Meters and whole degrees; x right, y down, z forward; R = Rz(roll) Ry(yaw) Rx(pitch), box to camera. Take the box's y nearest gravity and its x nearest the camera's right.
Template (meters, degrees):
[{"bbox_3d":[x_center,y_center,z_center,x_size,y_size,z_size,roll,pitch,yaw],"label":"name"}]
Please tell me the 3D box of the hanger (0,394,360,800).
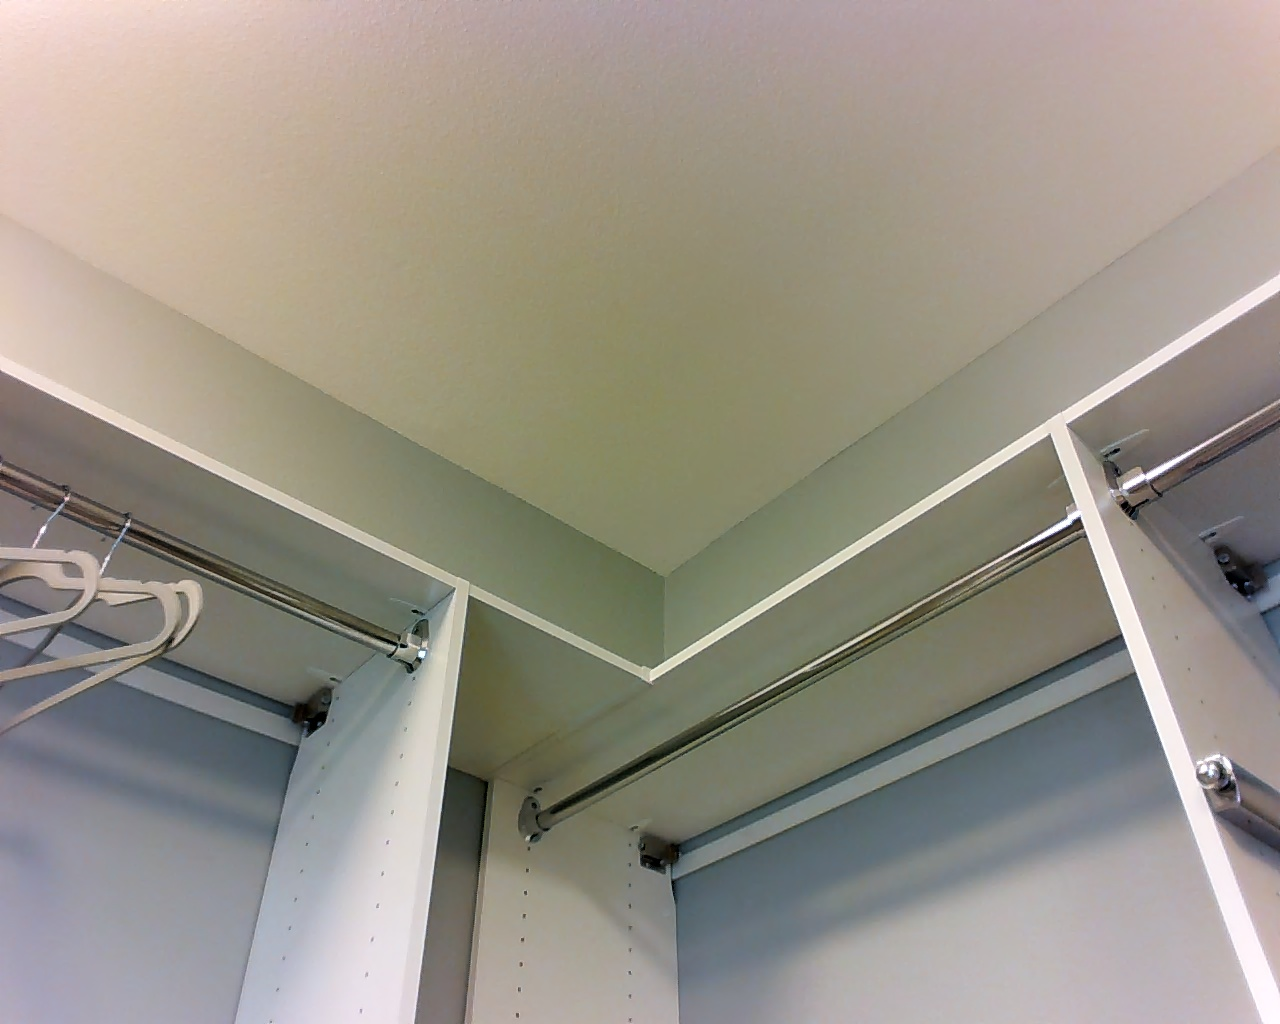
[{"bbox_3d":[-0.540,0.110,0.950,0.540,0.180,0.190,-19,-46,21],"label":"hanger"}]
